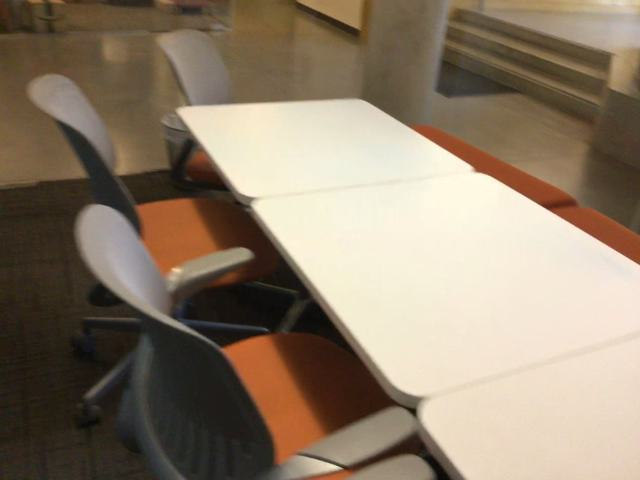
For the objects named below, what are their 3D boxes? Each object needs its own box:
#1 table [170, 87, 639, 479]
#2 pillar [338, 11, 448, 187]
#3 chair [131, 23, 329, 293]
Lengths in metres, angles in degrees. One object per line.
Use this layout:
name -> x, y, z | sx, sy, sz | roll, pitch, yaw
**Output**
table -> 0.270, 0.310, 1.490 | 0.830, 0.750, 2.260 | -9, 33, -22
pillar -> 0.380, -0.800, 3.270 | 0.330, 0.860, 0.450 | -9, 33, -22
chair -> -0.340, -0.340, 2.380 | 0.640, 0.910, 0.610 | 2, 30, -5
